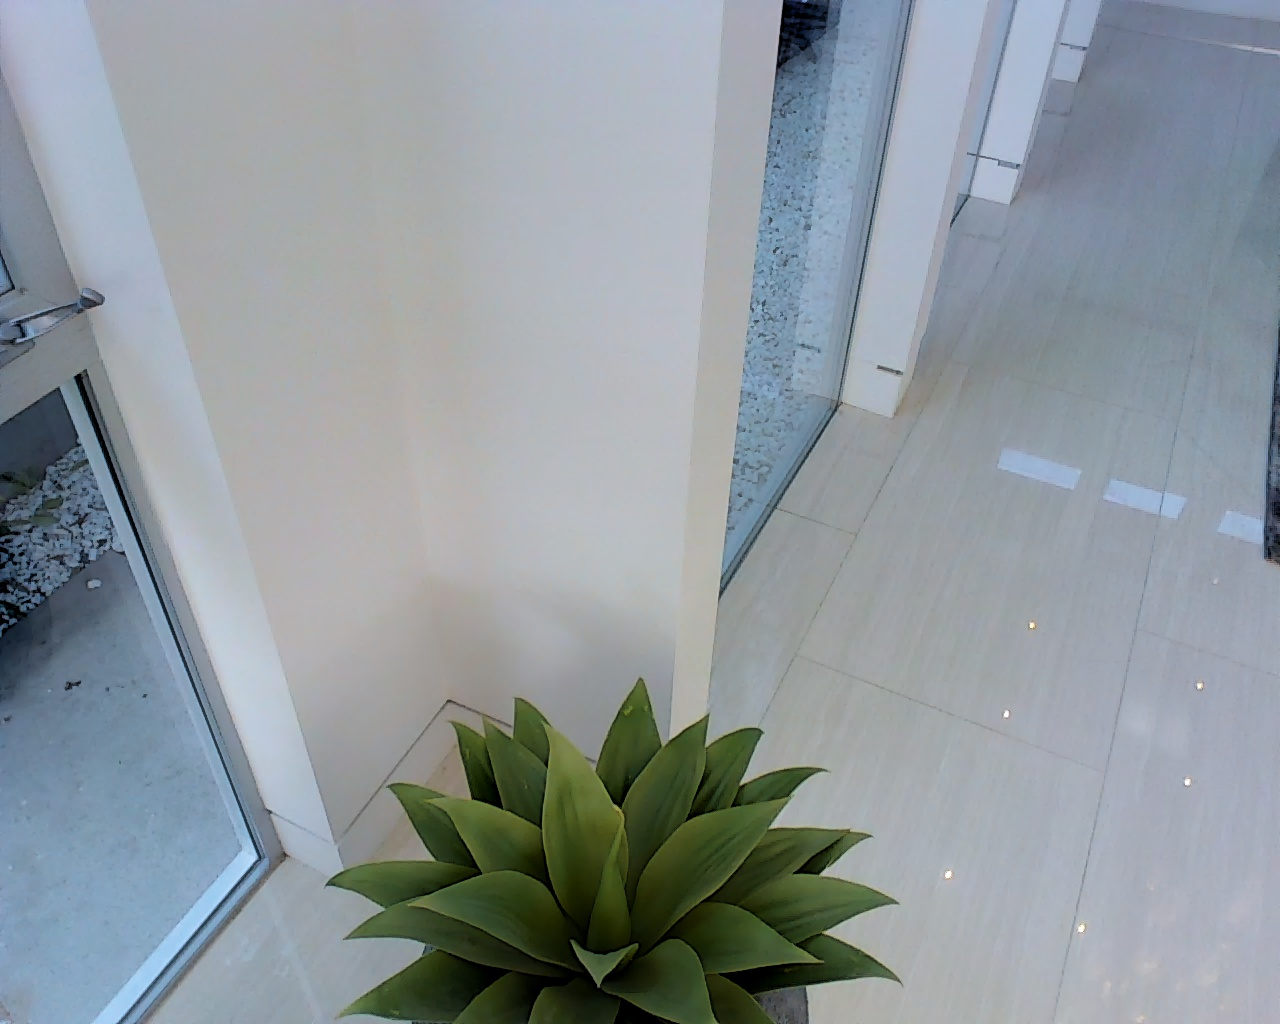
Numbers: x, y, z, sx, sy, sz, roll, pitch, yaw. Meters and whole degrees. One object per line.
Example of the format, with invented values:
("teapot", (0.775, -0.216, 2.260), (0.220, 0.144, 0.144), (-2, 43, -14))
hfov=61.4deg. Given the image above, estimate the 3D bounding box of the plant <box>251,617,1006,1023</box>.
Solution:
("plant", (-0.030, 0.390, 1.210), (0.690, 0.180, 0.520), (-3, 42, -5))
